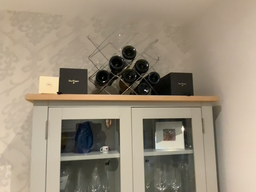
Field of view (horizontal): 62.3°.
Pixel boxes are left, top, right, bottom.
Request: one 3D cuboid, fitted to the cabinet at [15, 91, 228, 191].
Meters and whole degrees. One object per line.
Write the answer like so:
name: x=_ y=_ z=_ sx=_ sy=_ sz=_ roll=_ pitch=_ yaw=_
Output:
cabinet: x=-0.020 y=0.540 z=1.210 sx=1.040 sy=1.070 sz=0.420 roll=0 pitch=-8 yaw=-13
